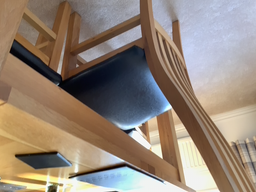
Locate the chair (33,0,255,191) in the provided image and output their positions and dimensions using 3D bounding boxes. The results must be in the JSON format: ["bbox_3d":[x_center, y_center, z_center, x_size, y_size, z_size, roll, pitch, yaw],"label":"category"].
[{"bbox_3d":[0.080,0.050,0.780,0.570,1.060,0.460,-23,142,27],"label":"chair"}]
